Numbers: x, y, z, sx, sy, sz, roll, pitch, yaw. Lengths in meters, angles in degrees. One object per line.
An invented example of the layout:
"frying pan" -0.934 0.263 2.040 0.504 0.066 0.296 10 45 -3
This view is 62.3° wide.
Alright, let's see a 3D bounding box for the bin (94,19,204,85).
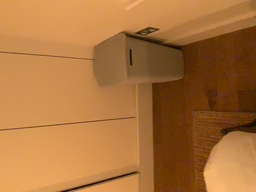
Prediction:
"bin" 0.140 -0.260 1.540 0.500 0.600 0.330 -3 89 56
